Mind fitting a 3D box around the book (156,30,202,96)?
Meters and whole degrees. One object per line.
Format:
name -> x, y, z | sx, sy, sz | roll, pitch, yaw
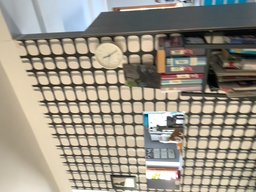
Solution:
book -> 0.310, -0.210, 1.370 | 0.210, 0.250, 0.360 | -80, -13, -57
